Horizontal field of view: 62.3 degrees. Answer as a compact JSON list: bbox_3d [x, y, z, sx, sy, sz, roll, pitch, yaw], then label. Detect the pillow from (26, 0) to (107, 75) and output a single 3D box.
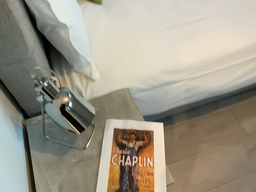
[{"bbox_3d":[-0.250,-0.390,0.780,0.140,0.450,0.510,-20,81,-3],"label":"pillow"}]
